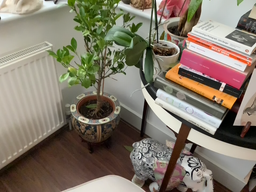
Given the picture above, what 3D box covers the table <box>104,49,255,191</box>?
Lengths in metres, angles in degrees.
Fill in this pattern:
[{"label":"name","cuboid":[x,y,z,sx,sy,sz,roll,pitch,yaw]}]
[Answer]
[{"label":"table","cuboid":[0.280,0.260,1.130,0.700,0.710,0.430,27,44,24]}]
